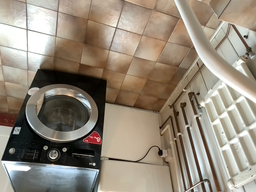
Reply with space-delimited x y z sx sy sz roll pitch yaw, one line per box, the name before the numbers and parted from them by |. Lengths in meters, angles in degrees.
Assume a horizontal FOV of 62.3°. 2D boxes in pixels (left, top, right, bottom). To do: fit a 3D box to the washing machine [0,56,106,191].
washing machine | -0.570 0.290 1.780 0.580 0.840 0.770 10 137 -13
